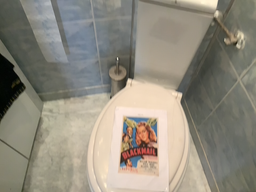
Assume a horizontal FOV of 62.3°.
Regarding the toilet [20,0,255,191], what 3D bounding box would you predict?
[{"bbox_3d":[0.080,0.110,0.850,0.390,0.840,0.760,12,60,4],"label":"toilet"}]
